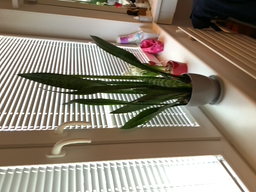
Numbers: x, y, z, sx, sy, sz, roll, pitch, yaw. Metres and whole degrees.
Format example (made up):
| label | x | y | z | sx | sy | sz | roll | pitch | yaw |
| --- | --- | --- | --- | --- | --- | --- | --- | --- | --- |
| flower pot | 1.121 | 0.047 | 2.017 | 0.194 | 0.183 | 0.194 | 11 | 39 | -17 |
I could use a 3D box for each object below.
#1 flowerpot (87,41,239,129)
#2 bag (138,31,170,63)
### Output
| label | x | y | z | sx | sy | sz | roll | pitch | yaw |
| --- | --- | --- | --- | --- | --- | --- | --- | --- | --- |
| flowerpot | 0.130 | -0.060 | 1.050 | 0.330 | 0.620 | 0.280 | -114 | 29 | -57 |
| bag | 0.200 | -0.400 | 1.720 | 0.220 | 0.160 | 0.180 | -114 | 29 | -57 |
